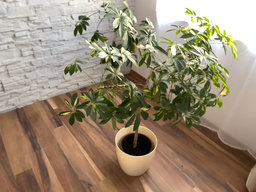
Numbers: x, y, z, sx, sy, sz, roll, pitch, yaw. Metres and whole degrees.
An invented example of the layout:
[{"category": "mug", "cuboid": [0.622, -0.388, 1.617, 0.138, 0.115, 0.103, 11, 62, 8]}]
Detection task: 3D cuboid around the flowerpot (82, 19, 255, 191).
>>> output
[{"category": "flowerpot", "cuboid": [0.210, 0.100, 1.080, 0.710, 0.780, 0.410, -19, 41, -28]}]
